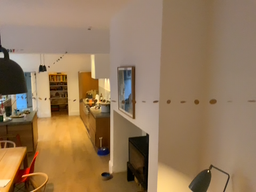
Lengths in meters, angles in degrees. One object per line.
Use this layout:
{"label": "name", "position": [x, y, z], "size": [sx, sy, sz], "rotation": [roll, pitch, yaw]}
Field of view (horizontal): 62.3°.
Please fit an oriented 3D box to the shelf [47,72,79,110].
{"label": "shelf", "position": [-3.210, -0.270, 10.560], "size": [1.410, 1.790, 0.350], "rotation": [-2, 8, -15]}
